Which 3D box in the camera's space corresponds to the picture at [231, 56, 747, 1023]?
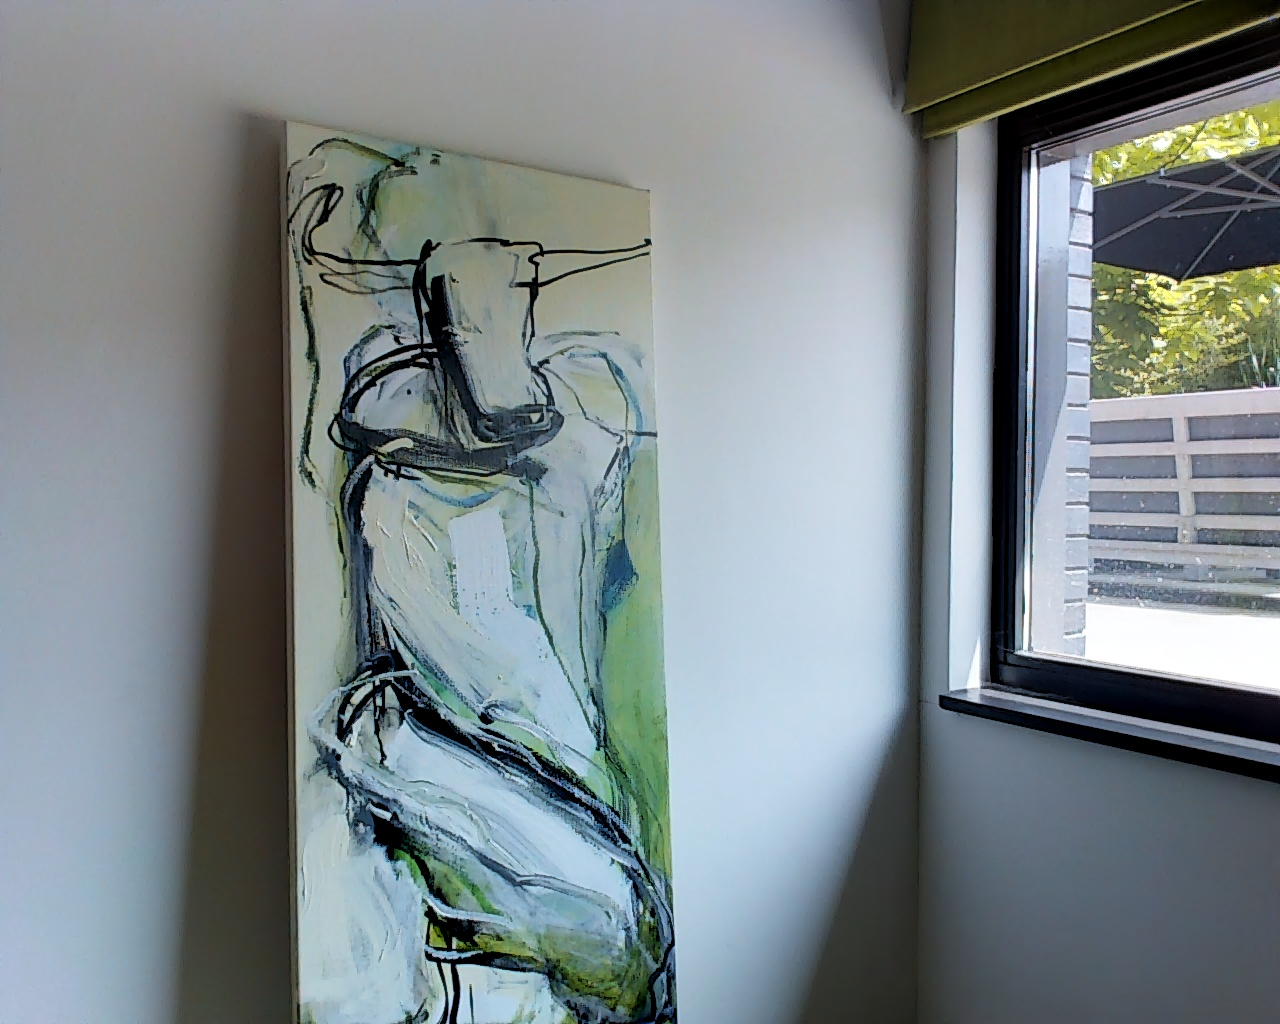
[{"bbox_3d":[-0.170,0.280,1.340,0.600,1.530,0.160,0,-4,-32],"label":"picture"}]
